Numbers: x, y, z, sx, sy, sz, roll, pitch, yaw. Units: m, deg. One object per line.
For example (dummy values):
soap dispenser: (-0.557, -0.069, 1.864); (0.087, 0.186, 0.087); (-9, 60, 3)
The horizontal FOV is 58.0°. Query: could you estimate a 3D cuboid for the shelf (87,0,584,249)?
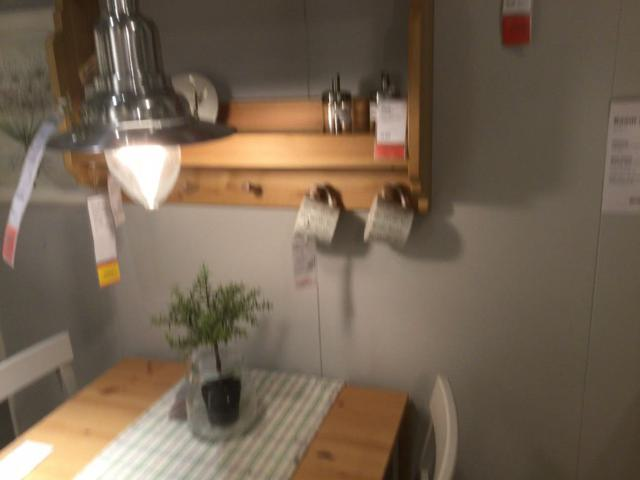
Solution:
shelf: (-0.010, -0.540, 1.070); (0.910, 1.070, 0.200); (2, 15, 21)
